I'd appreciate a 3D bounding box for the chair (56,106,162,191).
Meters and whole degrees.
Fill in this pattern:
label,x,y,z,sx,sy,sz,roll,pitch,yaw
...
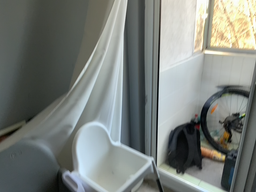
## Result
label,x,y,z,sx,sy,sz,roll,pitch,yaw
chair,-0.080,0.580,1.220,0.400,0.920,0.340,14,27,34
